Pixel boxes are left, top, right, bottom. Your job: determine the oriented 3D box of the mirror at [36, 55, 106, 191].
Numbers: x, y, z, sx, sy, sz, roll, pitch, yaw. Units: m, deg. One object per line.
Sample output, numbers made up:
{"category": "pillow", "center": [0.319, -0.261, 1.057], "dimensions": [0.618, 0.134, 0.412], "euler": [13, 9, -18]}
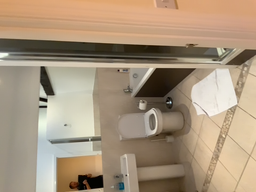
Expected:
{"category": "mirror", "center": [-0.850, 0.460, 3.170], "dimensions": [0.060, 0.920, 2.380], "euler": [124, 142, -66]}
